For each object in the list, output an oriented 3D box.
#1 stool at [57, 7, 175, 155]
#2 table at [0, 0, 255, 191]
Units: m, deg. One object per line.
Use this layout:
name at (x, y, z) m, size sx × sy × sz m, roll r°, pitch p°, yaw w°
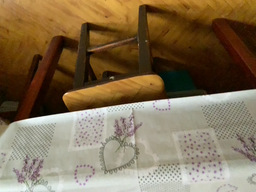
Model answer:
stool at (-0.020, -0.080, 0.880) m, size 0.320 × 0.500 × 0.320 m, roll -10°, pitch 133°, yaw 7°
table at (0.070, 0.130, 0.900) m, size 1.030 × 0.770 × 0.640 m, roll -7°, pitch 133°, yaw 5°
